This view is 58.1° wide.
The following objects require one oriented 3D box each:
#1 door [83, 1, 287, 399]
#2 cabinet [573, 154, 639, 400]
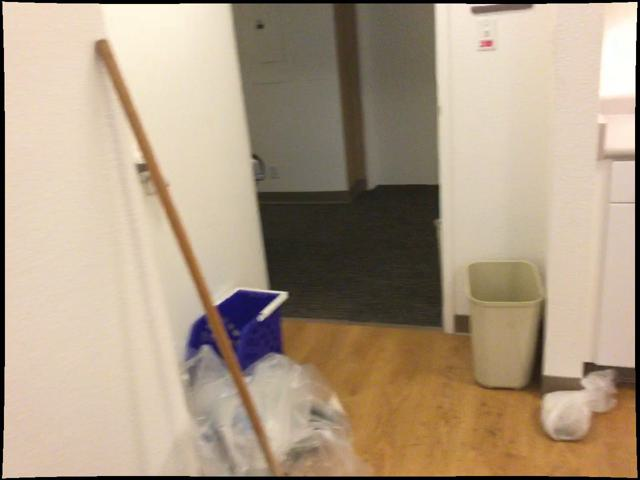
[{"bbox_3d":[-0.439,-0.241,2.400,0.100,1.383,1.050,2,22,18],"label":"door"},{"bbox_3d":[1.107,0.150,1.990,0.359,0.892,0.090,2,22,18],"label":"cabinet"}]
